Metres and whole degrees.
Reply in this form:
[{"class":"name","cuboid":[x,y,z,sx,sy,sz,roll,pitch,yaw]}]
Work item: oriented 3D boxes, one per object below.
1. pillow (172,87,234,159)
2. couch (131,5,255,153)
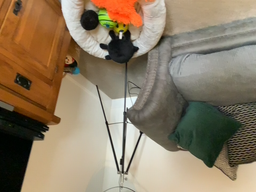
[{"class":"pillow","cuboid":[0.580,0.230,1.750,0.410,0.500,0.320,-1,156,12]},{"class":"couch","cuboid":[1.010,-0.030,1.660,1.620,0.740,1.090,-7,154,24]}]
